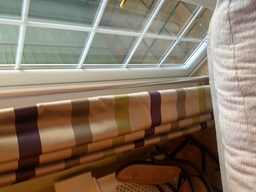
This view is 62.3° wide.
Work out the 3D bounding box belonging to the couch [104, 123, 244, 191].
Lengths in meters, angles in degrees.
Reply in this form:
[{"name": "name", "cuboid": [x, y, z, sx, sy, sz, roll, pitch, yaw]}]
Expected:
[{"name": "couch", "cuboid": [0.340, 0.660, 1.590, 0.670, 0.730, 0.430, 59, 137, 29]}]
